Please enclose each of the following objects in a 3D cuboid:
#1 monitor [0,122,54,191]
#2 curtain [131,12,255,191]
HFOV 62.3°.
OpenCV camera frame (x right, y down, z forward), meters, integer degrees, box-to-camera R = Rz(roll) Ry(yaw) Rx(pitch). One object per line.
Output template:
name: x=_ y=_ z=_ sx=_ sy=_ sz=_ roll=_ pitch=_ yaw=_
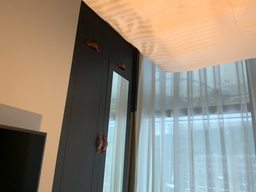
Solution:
monitor: x=-0.660 y=0.310 z=0.890 sx=0.040 sy=0.430 sz=0.750 roll=-8 pitch=159 yaw=31
curtain: x=0.720 y=0.430 z=1.850 sx=1.460 sy=2.280 sz=0.200 roll=-8 pitch=159 yaw=32
